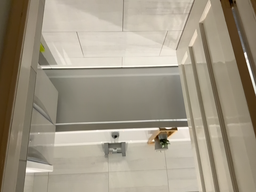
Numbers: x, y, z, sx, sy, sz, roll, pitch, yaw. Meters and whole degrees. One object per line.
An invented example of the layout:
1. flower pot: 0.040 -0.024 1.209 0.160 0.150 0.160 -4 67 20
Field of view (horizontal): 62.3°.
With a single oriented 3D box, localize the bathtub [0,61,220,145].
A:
1. bathtub: -0.140 0.100 2.030 1.670 0.560 0.690 -2 160 -3
